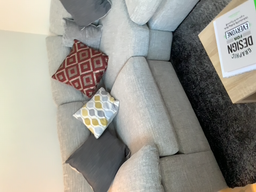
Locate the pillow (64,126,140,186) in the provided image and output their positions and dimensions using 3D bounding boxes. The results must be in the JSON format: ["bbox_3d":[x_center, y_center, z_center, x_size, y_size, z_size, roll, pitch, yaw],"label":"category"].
[{"bbox_3d":[-0.200,0.480,1.690,0.420,0.400,0.210,29,85,38],"label":"pillow"}]

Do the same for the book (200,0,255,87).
[{"bbox_3d":[0.460,-0.230,0.840,0.290,0.080,0.320,-25,71,57],"label":"book"}]

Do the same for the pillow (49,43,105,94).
[{"bbox_3d":[-0.480,-0.260,2.060,0.170,0.420,0.420,39,103,6],"label":"pillow"}]
